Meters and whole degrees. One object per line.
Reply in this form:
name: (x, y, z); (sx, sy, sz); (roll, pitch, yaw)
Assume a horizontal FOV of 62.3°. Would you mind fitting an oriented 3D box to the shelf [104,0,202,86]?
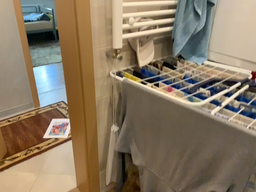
shelf: (0.160, -0.720, 0.920); (0.570, 1.270, 0.140); (-22, 35, -37)
